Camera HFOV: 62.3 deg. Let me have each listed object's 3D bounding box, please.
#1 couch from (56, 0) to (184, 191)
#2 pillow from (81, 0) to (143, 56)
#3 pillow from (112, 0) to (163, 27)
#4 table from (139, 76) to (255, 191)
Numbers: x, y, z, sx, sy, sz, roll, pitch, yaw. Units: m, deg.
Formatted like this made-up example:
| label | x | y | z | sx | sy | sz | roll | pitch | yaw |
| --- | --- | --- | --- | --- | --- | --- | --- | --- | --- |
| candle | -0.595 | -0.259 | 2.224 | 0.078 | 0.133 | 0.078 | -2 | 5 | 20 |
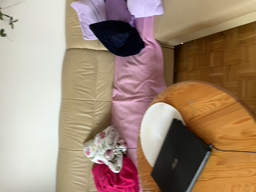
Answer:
| label | x | y | z | sx | sy | sz | roll | pitch | yaw |
| --- | --- | --- | --- | --- | --- | --- | --- | --- | --- |
| couch | -0.100 | 0.050 | 1.910 | 0.780 | 0.800 | 2.500 | 0 | 87 | 57 |
| pillow | -0.150 | -0.660 | 1.760 | 0.530 | 0.280 | 0.520 | -3 | 84 | 57 |
| pillow | 0.060 | -0.740 | 1.520 | 0.400 | 0.160 | 0.350 | 1 | 88 | 57 |
| table | 0.510 | 0.360 | 1.150 | 0.710 | 0.570 | 0.830 | 0 | 87 | 57 |
